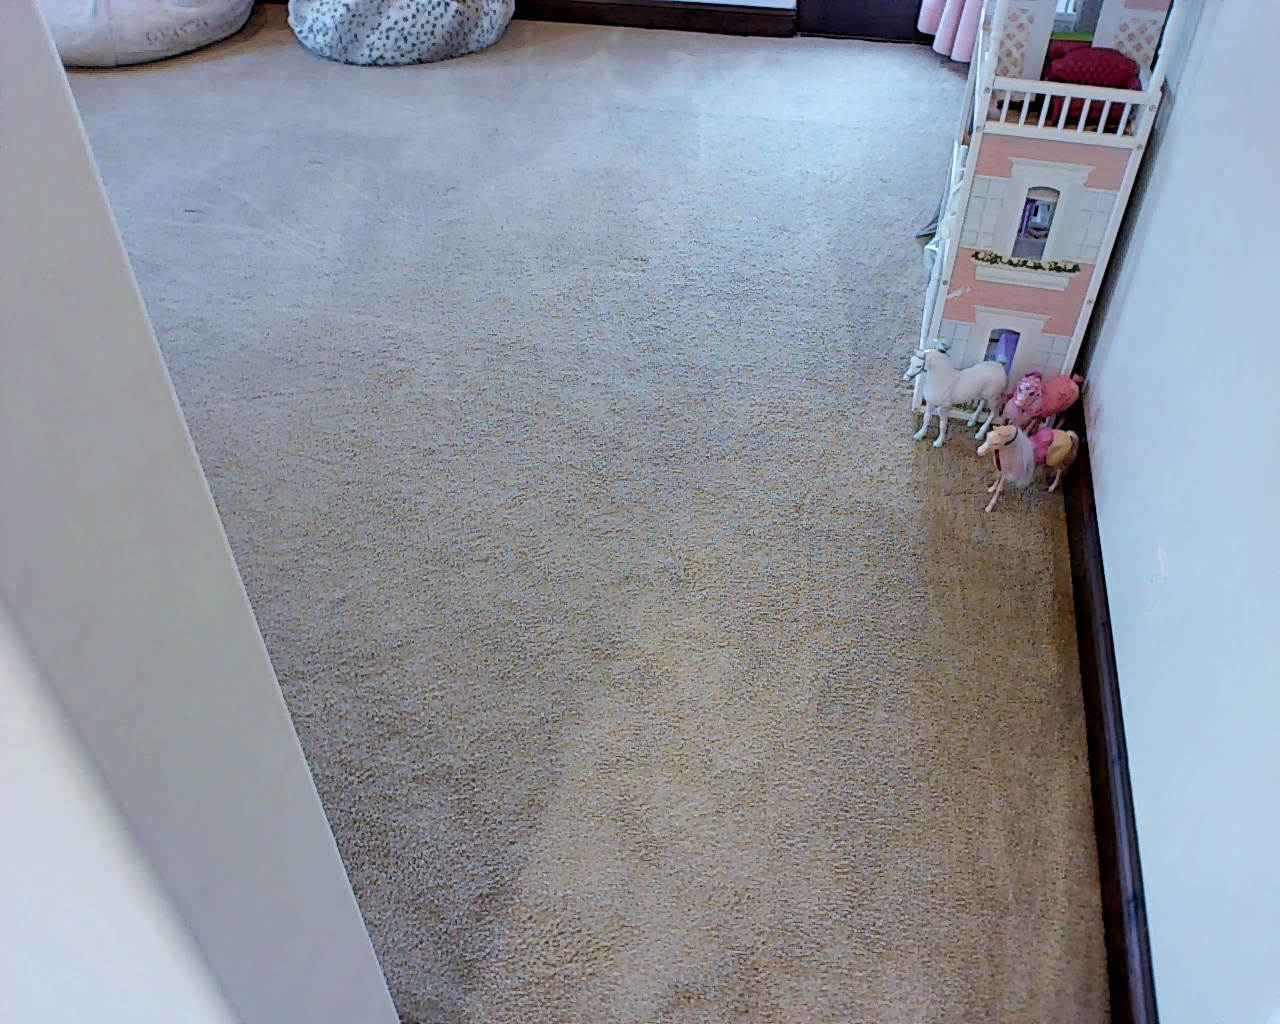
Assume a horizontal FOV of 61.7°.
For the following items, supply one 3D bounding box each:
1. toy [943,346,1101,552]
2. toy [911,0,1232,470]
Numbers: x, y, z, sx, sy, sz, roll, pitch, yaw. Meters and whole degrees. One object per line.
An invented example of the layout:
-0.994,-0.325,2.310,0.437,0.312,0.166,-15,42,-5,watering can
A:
0.860,-0.150,2.410,0.270,0.250,0.370,12,43,13,toy
0.950,-0.940,2.500,0.380,1.300,1.010,8,42,10,toy
